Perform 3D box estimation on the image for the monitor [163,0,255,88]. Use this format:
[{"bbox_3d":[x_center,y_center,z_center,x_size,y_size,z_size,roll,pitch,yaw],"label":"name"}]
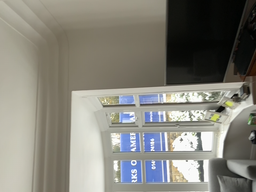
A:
[{"bbox_3d":[0.620,-0.440,1.750,0.980,0.620,0.060,81,-172,-48],"label":"monitor"}]
